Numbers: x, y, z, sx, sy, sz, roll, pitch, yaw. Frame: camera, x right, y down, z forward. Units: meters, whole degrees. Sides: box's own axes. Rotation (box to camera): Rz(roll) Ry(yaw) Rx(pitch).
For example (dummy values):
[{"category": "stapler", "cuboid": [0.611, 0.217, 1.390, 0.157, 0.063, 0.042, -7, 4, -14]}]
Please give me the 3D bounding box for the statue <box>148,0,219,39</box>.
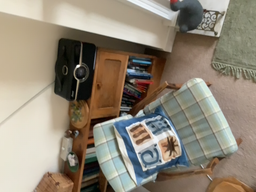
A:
[{"category": "statue", "cuboid": [0.410, -0.580, 1.480, 0.210, 0.580, 0.240, 22, 106, 35]}]
